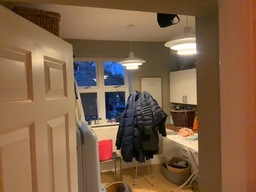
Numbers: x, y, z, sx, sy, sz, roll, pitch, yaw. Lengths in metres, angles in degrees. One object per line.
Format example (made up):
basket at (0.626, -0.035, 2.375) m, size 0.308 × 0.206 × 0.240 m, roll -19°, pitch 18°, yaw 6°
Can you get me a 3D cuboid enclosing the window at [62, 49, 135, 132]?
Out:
window at (-0.630, -0.140, 4.630) m, size 1.460 × 1.620 × 0.480 m, roll -2°, pitch 2°, yaw -21°
